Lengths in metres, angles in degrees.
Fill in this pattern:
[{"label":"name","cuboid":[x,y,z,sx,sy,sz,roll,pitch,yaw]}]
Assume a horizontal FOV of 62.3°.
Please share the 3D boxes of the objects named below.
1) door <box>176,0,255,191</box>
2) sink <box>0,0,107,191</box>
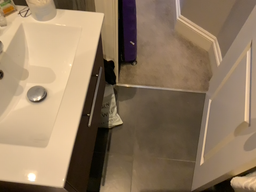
[{"label":"door","cuboid":[0.550,-0.260,0.700,0.080,2.140,0.840,19,59,8]},{"label":"sink","cuboid":[-0.310,-0.060,0.710,0.390,0.150,0.670,5,58,0]}]
